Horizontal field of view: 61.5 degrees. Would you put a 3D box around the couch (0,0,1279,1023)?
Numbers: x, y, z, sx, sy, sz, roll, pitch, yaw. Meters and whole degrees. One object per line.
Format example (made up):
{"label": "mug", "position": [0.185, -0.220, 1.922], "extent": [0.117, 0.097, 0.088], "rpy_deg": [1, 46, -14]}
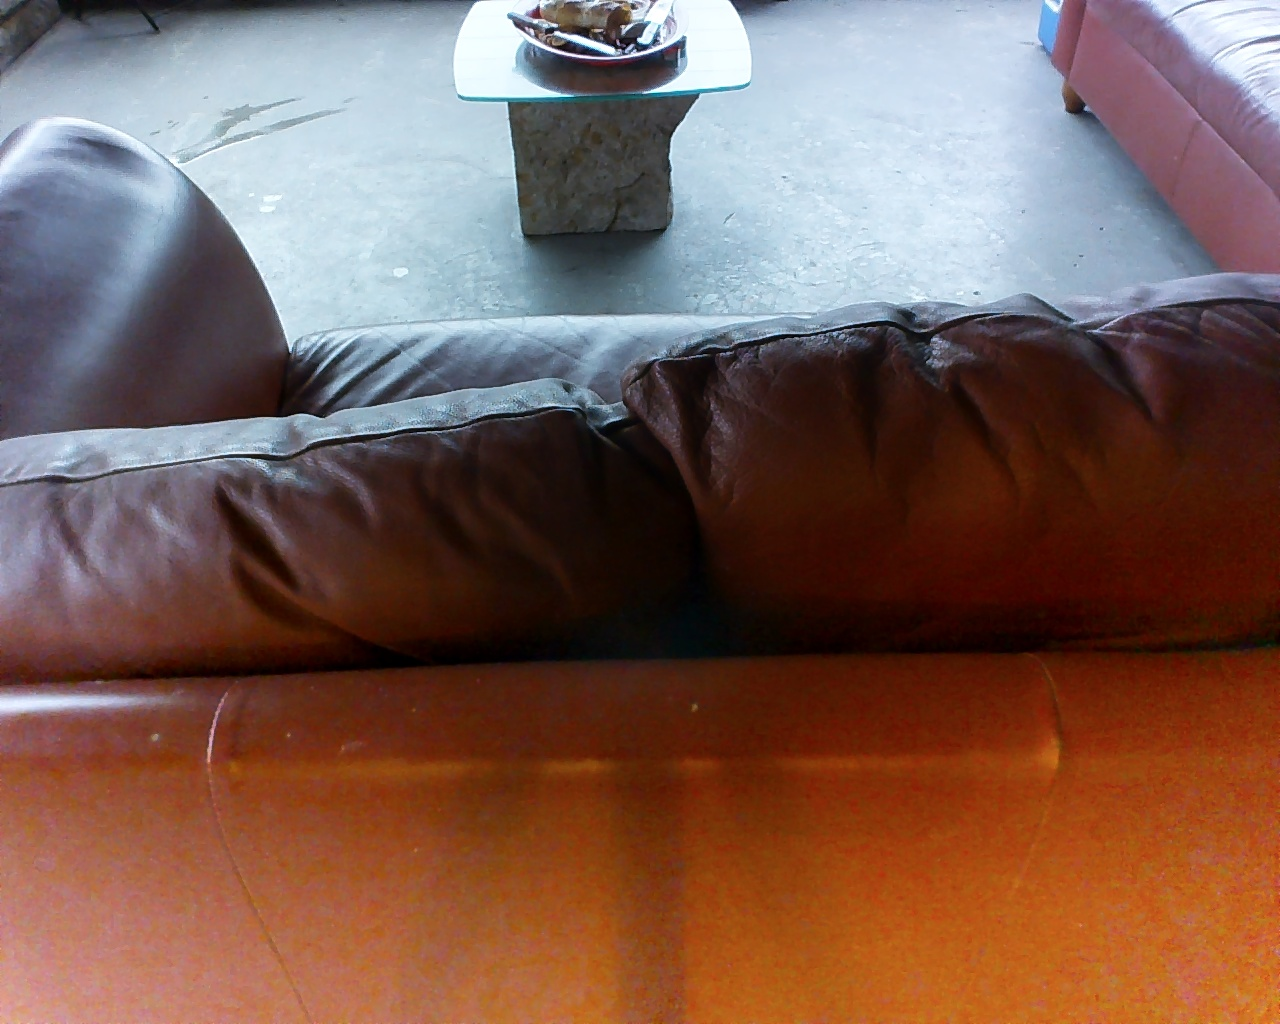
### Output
{"label": "couch", "position": [0.570, -0.550, 1.660], "extent": [2.599, 0.900, 2.790], "rpy_deg": [0, 42, 0]}
